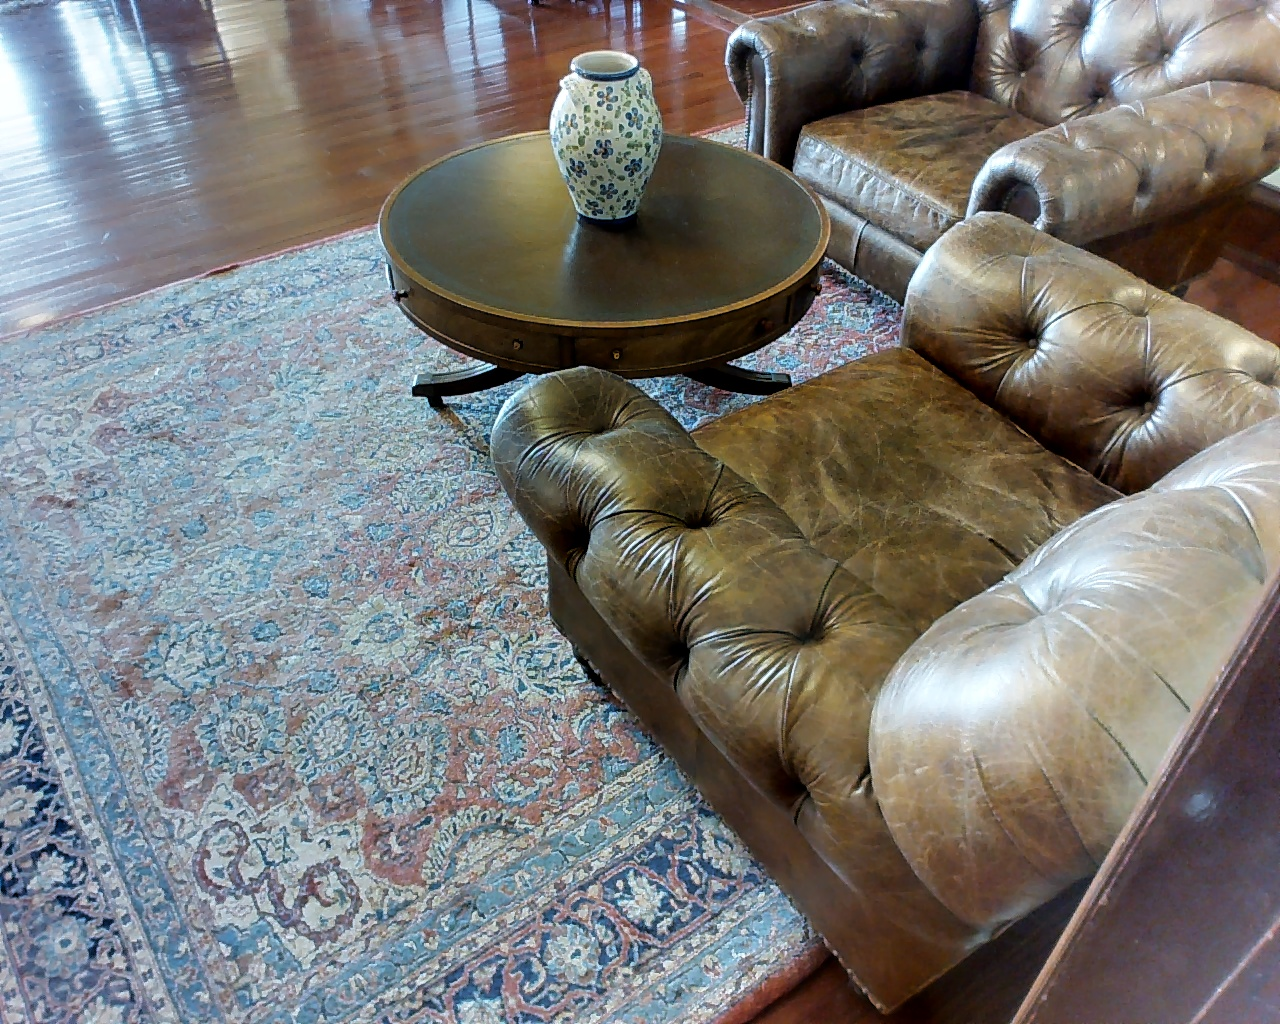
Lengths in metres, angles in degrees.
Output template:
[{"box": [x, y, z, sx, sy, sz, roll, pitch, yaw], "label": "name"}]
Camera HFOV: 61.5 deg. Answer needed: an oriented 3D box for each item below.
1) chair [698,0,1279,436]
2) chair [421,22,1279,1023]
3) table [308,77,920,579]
[{"box": [1.020, -1.090, 2.870, 1.170, 0.910, 1.260, -25, 48, -25], "label": "chair"}, {"box": [0.560, -0.010, 1.670, 1.300, 0.900, 1.110, -25, 48, -25], "label": "chair"}, {"box": [-0.080, -0.500, 2.490, 0.950, 0.510, 0.950, -25, 48, -25], "label": "table"}]
